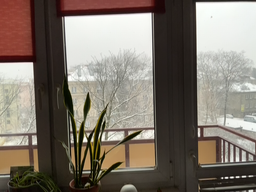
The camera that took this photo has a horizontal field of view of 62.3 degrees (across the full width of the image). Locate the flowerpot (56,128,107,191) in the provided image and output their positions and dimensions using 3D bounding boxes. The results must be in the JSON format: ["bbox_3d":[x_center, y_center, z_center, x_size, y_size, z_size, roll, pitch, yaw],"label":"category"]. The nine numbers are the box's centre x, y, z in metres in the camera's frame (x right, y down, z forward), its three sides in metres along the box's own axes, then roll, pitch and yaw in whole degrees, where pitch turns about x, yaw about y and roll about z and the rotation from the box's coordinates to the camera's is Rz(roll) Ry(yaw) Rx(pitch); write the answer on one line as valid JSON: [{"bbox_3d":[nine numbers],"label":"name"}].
[{"bbox_3d":[-0.240,0.410,1.160,0.240,0.430,0.160,-2,4,-6],"label":"flowerpot"}]

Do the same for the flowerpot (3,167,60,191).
[{"bbox_3d":[-0.510,0.530,1.160,0.230,0.200,0.190,-2,4,-7],"label":"flowerpot"}]
